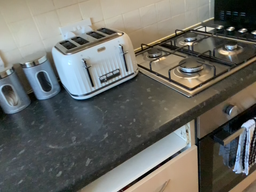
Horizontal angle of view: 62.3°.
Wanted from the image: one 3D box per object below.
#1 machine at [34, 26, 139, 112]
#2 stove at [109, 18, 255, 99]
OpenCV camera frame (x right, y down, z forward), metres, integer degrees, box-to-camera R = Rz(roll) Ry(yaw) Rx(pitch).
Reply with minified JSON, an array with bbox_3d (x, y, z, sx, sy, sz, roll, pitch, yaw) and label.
[{"bbox_3d":[-0.180,-0.140,0.900,0.310,0.180,0.310,-26,35,-20],"label":"machine"},{"bbox_3d":[0.300,-0.240,1.010,0.600,0.040,0.560,-26,35,-20],"label":"stove"}]
